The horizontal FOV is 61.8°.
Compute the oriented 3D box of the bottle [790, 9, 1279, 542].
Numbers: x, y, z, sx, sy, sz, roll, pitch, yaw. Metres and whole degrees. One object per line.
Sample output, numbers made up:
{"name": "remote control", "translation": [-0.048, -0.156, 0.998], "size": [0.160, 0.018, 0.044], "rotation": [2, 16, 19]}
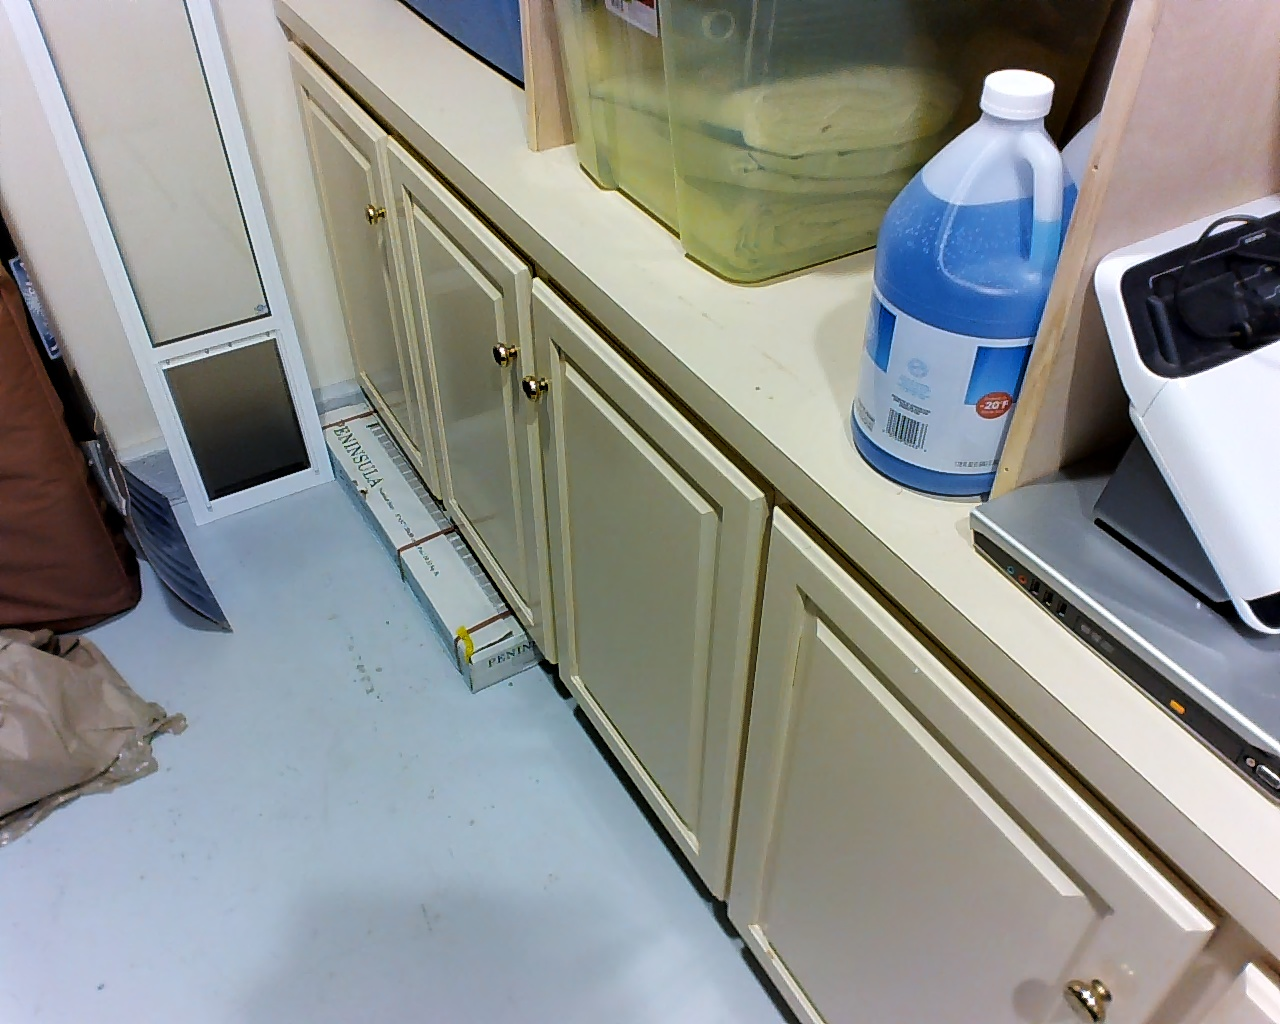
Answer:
{"name": "bottle", "translation": [0.280, -0.180, 0.810], "size": [0.260, 0.300, 0.160], "rotation": [-22, 46, -23]}

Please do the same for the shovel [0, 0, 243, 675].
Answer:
{"name": "shovel", "translation": [-0.910, -0.350, 1.640], "size": [0.160, 1.270, 0.470], "rotation": [-22, 46, -23]}

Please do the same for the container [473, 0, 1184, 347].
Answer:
{"name": "container", "translation": [0.180, -0.520, 1.140], "size": [0.560, 0.360, 0.480], "rotation": [-22, 46, -23]}
